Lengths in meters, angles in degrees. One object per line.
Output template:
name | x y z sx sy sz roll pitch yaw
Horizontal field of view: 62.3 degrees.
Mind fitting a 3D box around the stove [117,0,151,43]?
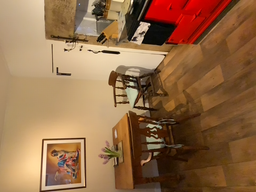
stove | 0.090 -1.120 2.060 1.030 0.100 0.690 127 141 -60
